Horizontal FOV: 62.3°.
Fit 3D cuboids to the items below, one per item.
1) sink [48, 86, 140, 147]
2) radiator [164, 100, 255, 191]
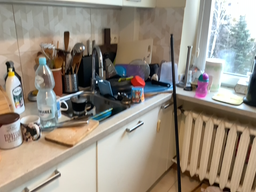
[{"bbox_3d":[-0.220,0.100,1.380,0.480,0.150,0.350,16,25,34],"label":"sink"},{"bbox_3d":[0.710,0.440,1.720,0.780,0.600,0.200,17,25,35],"label":"radiator"}]
